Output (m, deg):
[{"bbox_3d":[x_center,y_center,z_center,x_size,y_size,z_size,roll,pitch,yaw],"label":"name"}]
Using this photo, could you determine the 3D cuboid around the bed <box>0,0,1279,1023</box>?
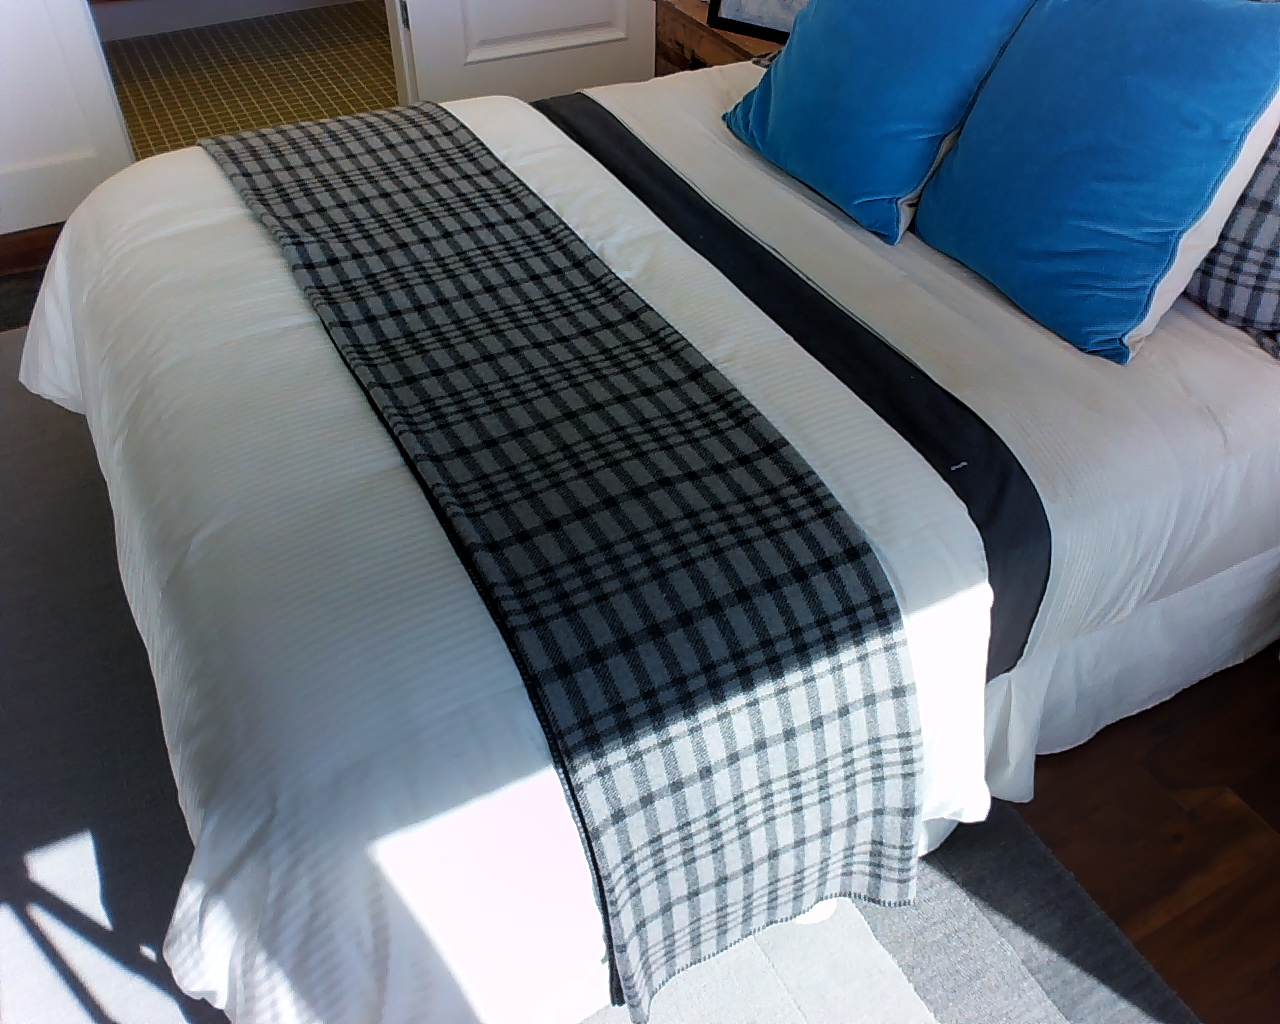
[{"bbox_3d":[0.060,-0.400,1.840,2.210,1.110,1.920,-19,45,-20],"label":"bed"}]
